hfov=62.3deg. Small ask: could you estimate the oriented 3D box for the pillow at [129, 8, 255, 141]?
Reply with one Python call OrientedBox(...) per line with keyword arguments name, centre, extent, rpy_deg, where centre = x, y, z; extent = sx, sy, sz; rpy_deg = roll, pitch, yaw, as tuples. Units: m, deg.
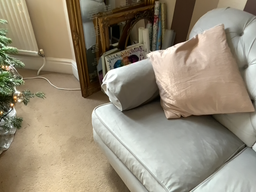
OrientedBox(name="pillow", centre=(0.340, -0.110, 1.130), extent=(0.510, 0.490, 0.230), rpy_deg=(-21, 6, -4))
